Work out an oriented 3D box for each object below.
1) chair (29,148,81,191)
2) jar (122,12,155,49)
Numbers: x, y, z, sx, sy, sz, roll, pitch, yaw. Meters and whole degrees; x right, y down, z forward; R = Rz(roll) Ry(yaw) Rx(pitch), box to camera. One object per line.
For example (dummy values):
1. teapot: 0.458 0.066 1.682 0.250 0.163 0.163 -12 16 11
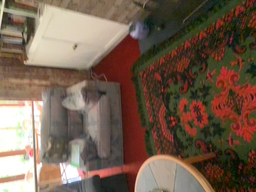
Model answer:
1. chair: -1.530 1.560 4.420 0.690 0.830 0.690 4 92 54
2. jar: 0.100 -0.680 2.240 0.290 0.170 0.230 -27 67 50
